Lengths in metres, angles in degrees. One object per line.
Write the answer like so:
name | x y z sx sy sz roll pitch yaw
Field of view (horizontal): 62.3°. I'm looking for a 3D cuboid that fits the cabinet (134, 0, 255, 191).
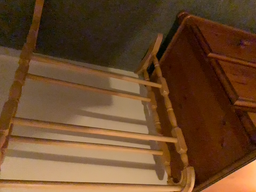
cabinet | 0.620 0.060 1.080 0.970 0.750 0.510 9 138 -20
